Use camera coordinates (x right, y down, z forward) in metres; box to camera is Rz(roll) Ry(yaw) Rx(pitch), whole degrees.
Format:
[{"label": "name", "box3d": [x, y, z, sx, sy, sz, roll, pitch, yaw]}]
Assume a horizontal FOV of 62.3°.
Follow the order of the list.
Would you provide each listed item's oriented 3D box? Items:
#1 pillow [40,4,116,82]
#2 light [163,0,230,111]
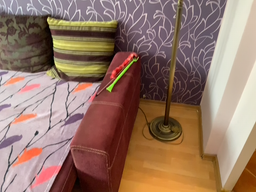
[{"label": "pillow", "box3d": [-0.410, -0.420, 1.720, 0.500, 0.410, 0.220, 21, 39, -2]}, {"label": "light", "box3d": [0.470, -0.470, 1.500, 0.330, 1.380, 0.160, 4, 39, 7]}]
